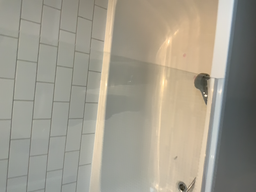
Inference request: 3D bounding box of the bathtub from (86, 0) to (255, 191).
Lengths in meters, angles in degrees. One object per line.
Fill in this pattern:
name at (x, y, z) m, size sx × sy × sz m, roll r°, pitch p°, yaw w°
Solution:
bathtub at (0.310, -0.100, 1.270) m, size 0.800 × 0.620 × 1.920 m, roll 9°, pitch 94°, yaw 47°
